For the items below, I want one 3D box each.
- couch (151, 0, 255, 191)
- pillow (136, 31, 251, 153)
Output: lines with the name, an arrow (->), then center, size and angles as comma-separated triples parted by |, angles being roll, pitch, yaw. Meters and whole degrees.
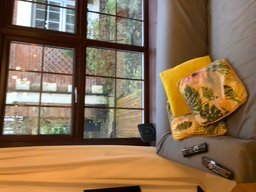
couch -> 0.700, -0.430, 1.570 | 0.950, 0.680, 1.840 | 170, 102, -70
pillow -> 0.470, -0.020, 1.470 | 0.510, 0.650, 0.190 | -54, 11, -21
